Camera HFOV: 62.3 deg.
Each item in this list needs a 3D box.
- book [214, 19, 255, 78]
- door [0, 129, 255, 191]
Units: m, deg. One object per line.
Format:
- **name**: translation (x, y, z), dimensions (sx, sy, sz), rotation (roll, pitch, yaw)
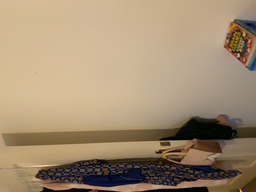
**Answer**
- **book**: translation (0.620, -0.230, 1.030), dimensions (0.220, 0.260, 0.200), rotation (-103, 16, -51)
- **door**: translation (0.170, 0.600, 1.640), dimensions (0.090, 2.000, 0.960), rotation (-100, 14, -44)
